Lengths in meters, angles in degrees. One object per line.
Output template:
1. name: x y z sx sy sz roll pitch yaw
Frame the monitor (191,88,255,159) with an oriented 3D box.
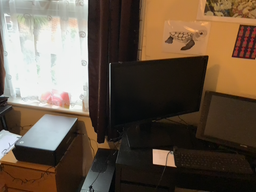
1. monitor: 0.740 0.190 1.350 0.580 0.360 0.030 15 -7 17
